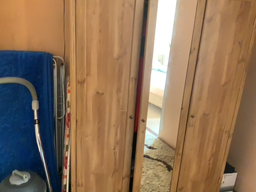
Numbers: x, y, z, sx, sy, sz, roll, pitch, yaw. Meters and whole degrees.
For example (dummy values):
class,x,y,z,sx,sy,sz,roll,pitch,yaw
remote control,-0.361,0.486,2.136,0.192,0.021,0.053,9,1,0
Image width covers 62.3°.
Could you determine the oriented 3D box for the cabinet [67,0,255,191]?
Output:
class,x,y,z,sx,sy,sz,roll,pitch,yaw
cabinet,0.190,0.090,1.750,1.300,1.890,0.650,0,17,-15
